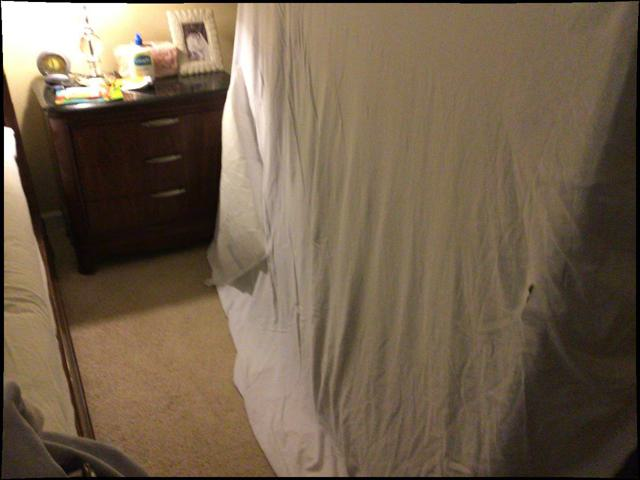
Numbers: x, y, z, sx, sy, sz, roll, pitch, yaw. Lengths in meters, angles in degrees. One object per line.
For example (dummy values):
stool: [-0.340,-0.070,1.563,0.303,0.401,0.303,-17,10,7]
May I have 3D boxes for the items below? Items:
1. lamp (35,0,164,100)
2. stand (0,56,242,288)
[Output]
lamp: [-0.928,-0.962,2.350,0.399,0.631,0.400,-15,35,-24]
stand: [-0.898,-0.351,2.620,0.898,0.731,0.570,-15,35,-24]
